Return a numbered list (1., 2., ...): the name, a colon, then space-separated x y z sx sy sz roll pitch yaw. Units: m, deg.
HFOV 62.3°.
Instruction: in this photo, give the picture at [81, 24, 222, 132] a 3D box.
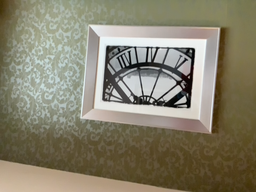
1. picture: 0.150 -0.160 1.640 1.010 0.750 0.030 5 -178 10
